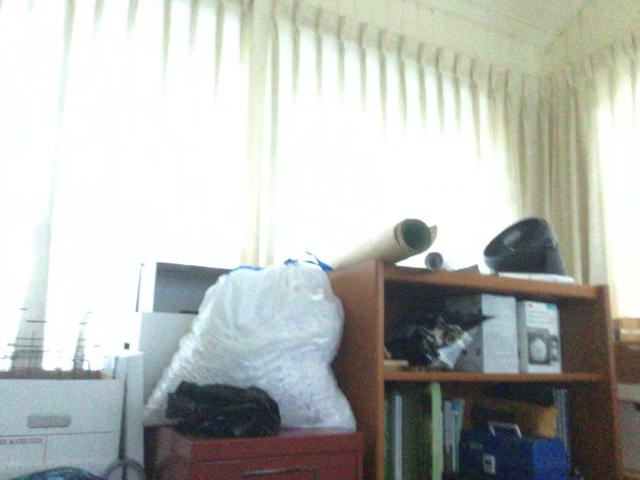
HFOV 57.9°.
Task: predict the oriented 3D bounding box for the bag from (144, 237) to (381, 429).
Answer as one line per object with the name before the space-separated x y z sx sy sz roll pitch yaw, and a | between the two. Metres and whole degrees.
bag | -0.140 0.230 1.380 0.450 0.370 0.340 7 -14 -27

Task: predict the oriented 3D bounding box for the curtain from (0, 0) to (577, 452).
curtain | -0.250 -0.170 1.900 2.840 1.550 0.160 7 -14 -27
